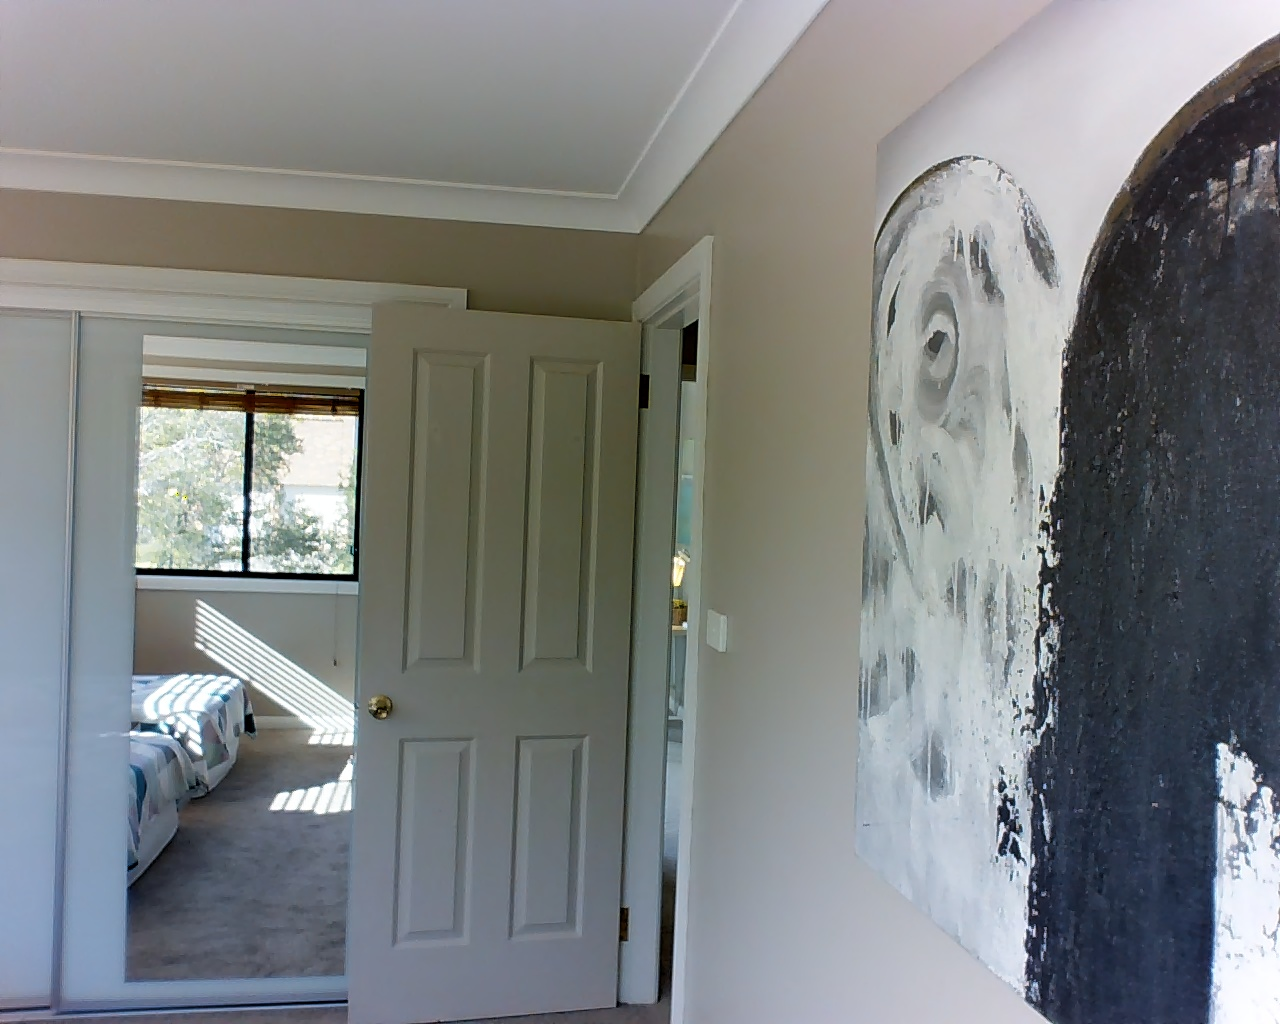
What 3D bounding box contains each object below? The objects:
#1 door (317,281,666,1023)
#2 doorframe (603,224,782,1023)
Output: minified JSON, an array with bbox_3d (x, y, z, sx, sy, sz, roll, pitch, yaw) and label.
[{"bbox_3d":[-0.430,0.420,3.120,0.910,2.061,0.310,2,1,-11],"label":"door"},{"bbox_3d":[0.100,0.420,2.780,0.200,2.101,0.880,2,1,-11],"label":"doorframe"}]
